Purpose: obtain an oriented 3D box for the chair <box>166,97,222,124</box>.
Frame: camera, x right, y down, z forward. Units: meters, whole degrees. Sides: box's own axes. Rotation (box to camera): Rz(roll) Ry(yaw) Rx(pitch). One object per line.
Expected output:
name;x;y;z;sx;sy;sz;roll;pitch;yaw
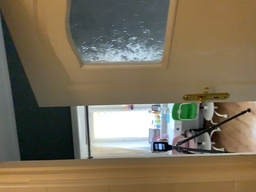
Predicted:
chair;1.120;0.240;3.690;0.520;0.790;0.360;-104;14;-83
